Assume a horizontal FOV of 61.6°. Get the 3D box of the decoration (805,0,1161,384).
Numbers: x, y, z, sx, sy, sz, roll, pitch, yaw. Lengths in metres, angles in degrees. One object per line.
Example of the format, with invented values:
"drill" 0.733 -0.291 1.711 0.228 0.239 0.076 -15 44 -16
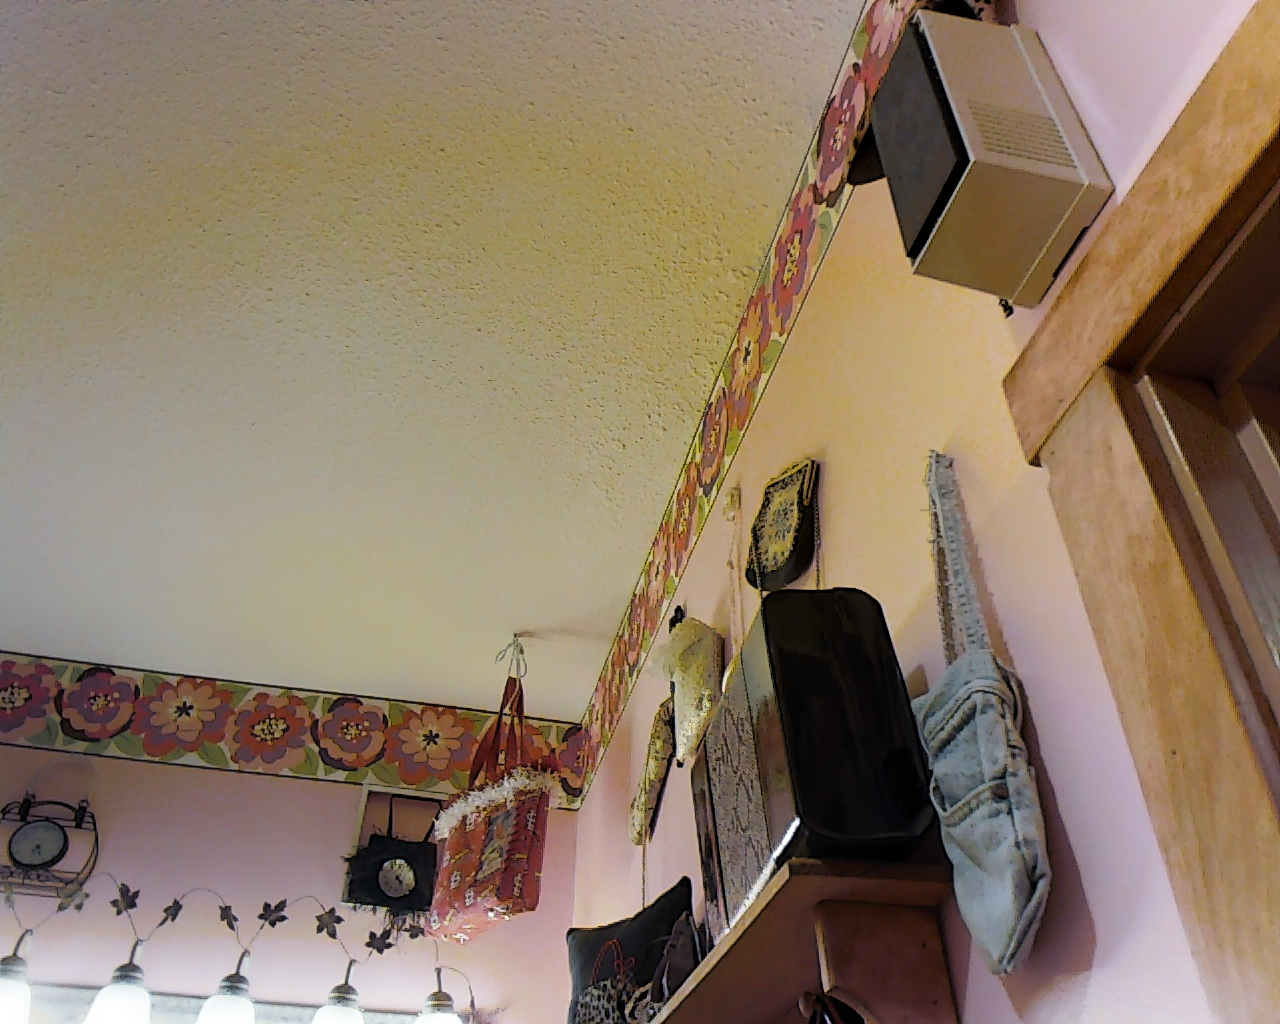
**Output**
"decoration" 0.260 -0.340 0.920 0.130 0.410 0.220 9 -41 -10
